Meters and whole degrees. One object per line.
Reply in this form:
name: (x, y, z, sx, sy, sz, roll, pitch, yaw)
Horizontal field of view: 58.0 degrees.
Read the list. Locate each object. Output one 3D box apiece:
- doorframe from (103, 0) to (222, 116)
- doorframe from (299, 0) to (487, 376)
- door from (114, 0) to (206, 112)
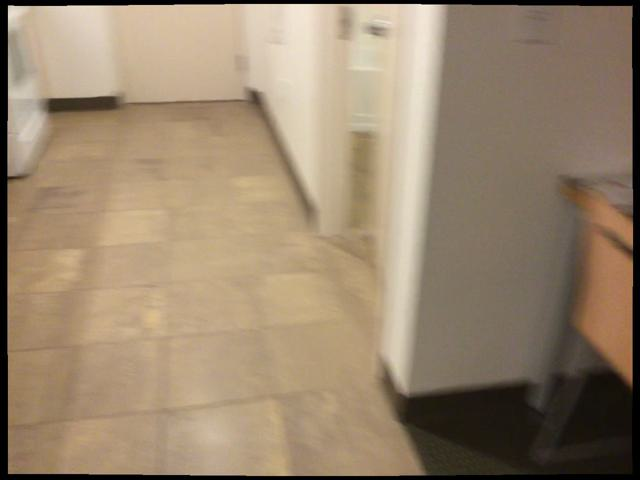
doorframe: (-1.138, -1.553, 4.200, 0.759, 1.242, 0.190, -5, 30, -11)
doorframe: (0.150, -0.411, 2.080, 0.240, 1.312, 1.140, -5, 30, -11)
door: (-1.178, -1.523, 4.260, 0.579, 1.112, 0.120, -5, 30, -11)
